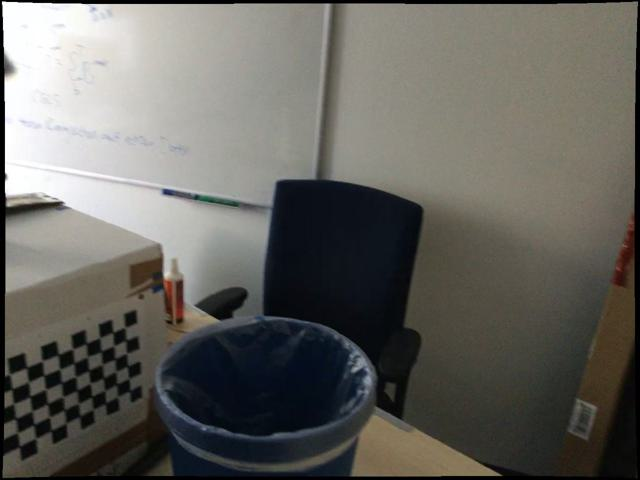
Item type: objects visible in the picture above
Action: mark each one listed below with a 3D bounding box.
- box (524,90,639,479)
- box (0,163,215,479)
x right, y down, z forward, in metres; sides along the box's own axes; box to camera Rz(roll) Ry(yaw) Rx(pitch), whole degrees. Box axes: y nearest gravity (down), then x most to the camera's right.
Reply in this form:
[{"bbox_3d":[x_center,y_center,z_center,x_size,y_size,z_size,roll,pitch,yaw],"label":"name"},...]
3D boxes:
[{"bbox_3d":[0.849,0.300,1.640,0.250,1.341,0.460,10,23,14],"label":"box"},{"bbox_3d":[-0.599,0.190,1.040,0.620,0.450,0.520,19,27,32],"label":"box"}]
